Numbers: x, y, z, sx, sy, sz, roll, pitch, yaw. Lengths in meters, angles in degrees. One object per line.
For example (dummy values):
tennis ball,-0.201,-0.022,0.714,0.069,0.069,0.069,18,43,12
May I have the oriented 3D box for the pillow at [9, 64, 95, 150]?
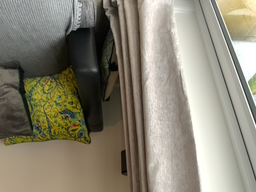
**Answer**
pillow,-0.470,0.060,1.470,0.440,0.440,0.350,-5,130,-7
